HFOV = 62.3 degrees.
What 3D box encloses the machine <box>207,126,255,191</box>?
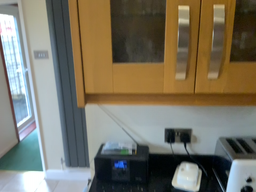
[{"bbox_3d":[0.590,0.320,1.030,0.310,0.260,0.260,0,17,5],"label":"machine"}]
